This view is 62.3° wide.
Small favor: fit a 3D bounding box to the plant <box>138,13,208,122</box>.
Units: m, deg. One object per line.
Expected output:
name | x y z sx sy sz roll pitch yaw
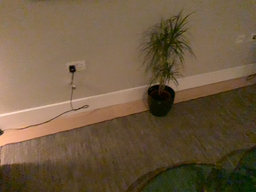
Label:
plant | 0.340 -0.220 1.870 0.370 0.870 0.320 -10 40 -14
